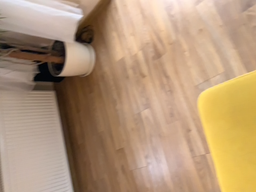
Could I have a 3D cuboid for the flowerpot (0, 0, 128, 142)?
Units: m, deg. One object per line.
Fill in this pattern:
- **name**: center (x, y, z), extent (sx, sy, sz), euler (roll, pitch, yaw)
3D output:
- **flowerpot**: center (-1.000, -0.240, 1.460), extent (1.010, 1.560, 0.780), euler (-45, 60, 35)
